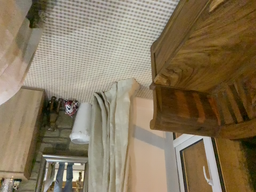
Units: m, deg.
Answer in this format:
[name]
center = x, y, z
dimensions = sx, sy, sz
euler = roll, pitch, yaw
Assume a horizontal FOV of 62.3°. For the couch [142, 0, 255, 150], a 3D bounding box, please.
[couch]
center = 0.580, -0.270, 1.150
dimensions = 0.640, 0.790, 1.070
euler = 9, 148, -15
